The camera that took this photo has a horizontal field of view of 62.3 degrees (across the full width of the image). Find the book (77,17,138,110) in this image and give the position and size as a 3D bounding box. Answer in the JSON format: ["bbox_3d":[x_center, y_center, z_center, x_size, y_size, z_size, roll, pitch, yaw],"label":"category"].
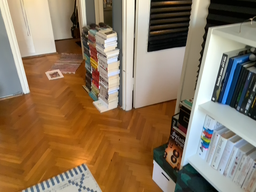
[{"bbox_3d":[-0.260,-0.410,2.480,0.380,0.820,0.720,-15,35,-26],"label":"book"}]

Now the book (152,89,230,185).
[{"bbox_3d":[0.400,0.270,1.440,0.330,0.500,0.270,-17,36,-27],"label":"book"}]
